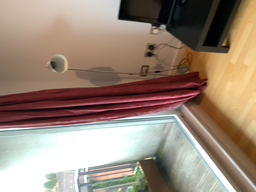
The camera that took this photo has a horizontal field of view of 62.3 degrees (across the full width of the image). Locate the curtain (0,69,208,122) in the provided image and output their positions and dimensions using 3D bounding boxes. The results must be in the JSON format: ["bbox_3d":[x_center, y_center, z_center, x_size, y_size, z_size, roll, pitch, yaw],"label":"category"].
[{"bbox_3d":[-0.310,-0.020,1.840,0.270,2.180,0.300,-120,36,-51],"label":"curtain"}]
